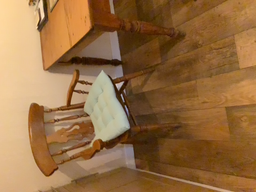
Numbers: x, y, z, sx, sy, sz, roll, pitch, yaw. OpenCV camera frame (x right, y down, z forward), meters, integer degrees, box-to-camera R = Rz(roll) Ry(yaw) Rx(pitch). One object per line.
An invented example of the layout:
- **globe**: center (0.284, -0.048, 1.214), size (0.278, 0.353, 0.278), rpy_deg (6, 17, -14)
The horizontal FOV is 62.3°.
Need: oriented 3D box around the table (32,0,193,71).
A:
- **table**: center (-0.190, -0.740, 1.540), size (0.870, 0.750, 0.940), rpy_deg (-13, 84, 54)
